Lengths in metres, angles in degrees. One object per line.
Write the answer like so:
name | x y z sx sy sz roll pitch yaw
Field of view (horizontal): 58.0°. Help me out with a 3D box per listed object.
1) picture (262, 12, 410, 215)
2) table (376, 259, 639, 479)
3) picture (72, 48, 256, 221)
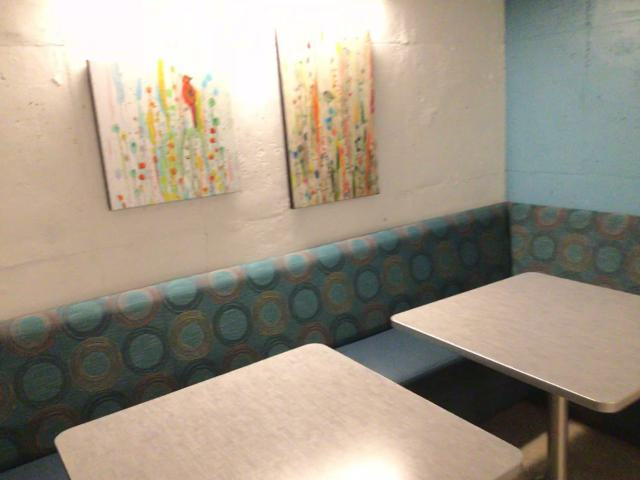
picture | 0.100 -0.590 2.650 0.660 0.840 0.090 -14 13 -32
table | 0.870 0.610 2.190 0.900 0.750 0.900 -14 16 -33
picture | -0.570 -0.420 2.220 0.610 0.590 0.060 -14 13 -32
